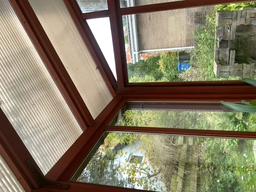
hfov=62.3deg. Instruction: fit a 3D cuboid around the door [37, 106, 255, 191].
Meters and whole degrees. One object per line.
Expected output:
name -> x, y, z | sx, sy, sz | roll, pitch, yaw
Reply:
door -> 0.370, 0.630, 0.820 | 2.760, 1.830, 0.160 | -50, -42, -66
